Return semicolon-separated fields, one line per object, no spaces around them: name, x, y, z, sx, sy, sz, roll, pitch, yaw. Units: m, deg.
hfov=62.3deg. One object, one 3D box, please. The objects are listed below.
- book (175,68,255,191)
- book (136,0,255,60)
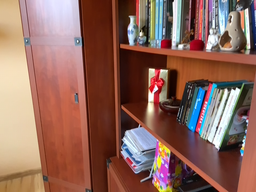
book;0.430;0.080;0.840;0.240;0.300;0.490;-6;17;-19
book;0.330;-0.350;0.910;0.250;0.300;0.890;-7;17;-21
